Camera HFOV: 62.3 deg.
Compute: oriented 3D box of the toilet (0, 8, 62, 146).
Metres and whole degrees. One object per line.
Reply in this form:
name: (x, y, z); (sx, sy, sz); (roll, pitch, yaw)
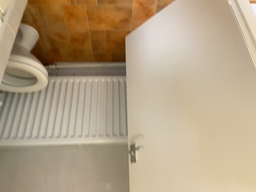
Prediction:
toilet: (-0.880, -0.130, 1.460); (0.630, 0.820, 0.470); (-1, 150, -1)
